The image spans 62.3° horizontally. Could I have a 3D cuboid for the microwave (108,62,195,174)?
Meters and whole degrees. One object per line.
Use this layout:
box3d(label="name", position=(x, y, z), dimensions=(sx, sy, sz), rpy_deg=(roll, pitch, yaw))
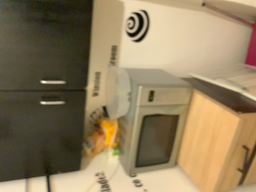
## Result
box3d(label="microwave", position=(0.090, 0.090, 1.160), dimensions=(0.370, 0.260, 0.470), rpy_deg=(-139, 53, -60))
